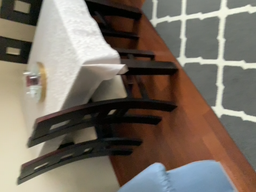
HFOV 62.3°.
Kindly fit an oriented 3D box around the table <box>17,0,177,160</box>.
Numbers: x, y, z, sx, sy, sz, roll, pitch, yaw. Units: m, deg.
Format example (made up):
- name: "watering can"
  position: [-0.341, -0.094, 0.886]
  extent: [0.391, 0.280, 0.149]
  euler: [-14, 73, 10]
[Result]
- name: "table"
  position: [-0.390, -0.110, 1.850]
  extent: [1.230, 0.770, 0.730]
  euler: [-49, 57, 41]
